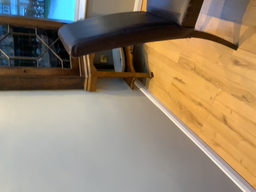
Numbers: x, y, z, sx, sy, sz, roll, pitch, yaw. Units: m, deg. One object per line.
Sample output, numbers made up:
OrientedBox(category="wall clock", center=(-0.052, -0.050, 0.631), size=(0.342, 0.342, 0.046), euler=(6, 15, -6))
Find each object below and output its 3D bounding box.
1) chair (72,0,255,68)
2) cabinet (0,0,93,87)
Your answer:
OrientedBox(category="chair", center=(0.210, -0.460, 1.100), size=(0.380, 0.880, 0.480), euler=(-130, 45, -52))
OrientedBox(category="cabinet", center=(-0.880, -0.430, 1.690), size=(0.530, 1.020, 0.530), euler=(-130, 45, -52))
